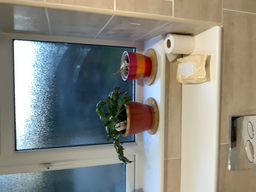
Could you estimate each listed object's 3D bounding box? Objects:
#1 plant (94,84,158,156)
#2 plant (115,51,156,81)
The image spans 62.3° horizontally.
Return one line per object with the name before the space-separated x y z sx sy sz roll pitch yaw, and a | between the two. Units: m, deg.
plant | -0.020 0.100 1.040 0.210 0.250 0.300 -157 68 -70
plant | 0.030 -0.150 1.060 0.200 0.140 0.130 -154 65 -70
